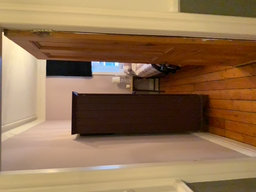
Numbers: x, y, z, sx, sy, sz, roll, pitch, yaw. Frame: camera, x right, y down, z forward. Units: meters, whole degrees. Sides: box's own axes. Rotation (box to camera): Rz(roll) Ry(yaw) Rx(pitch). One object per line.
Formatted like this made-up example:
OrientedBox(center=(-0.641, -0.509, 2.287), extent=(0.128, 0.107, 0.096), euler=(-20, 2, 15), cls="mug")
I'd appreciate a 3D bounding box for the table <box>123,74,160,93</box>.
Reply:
OrientedBox(center=(0.300, -0.270, 4.760), extent=(0.400, 0.760, 0.400), euler=(-179, 89, -81), cls="table")
